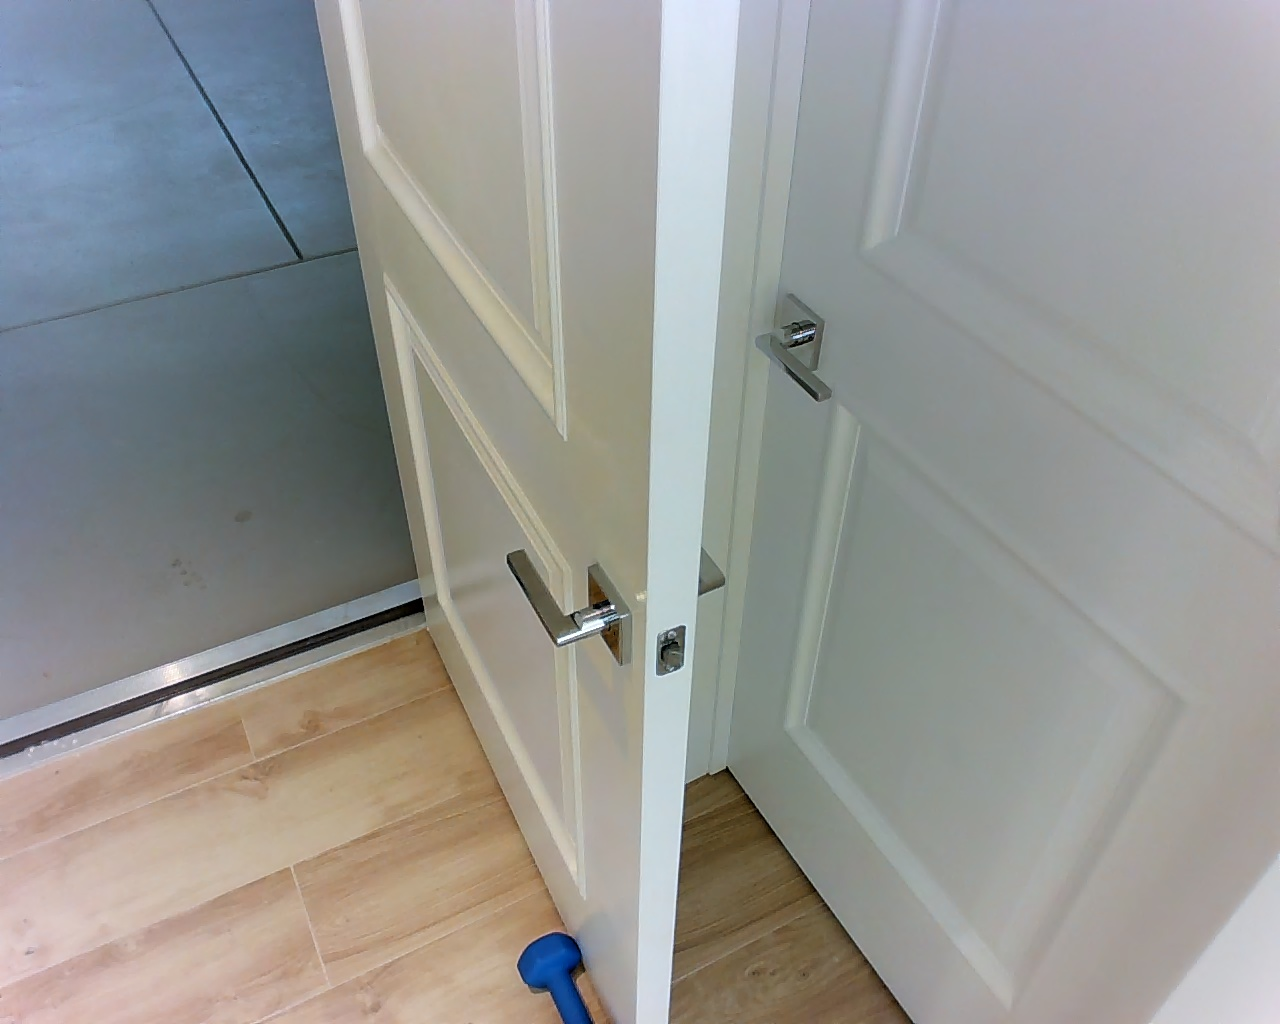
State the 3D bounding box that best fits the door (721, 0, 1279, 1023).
[{"bbox_3d":[0.350,-0.130,0.920,0.030,2.140,0.780,-20,46,-21],"label":"door"}]
